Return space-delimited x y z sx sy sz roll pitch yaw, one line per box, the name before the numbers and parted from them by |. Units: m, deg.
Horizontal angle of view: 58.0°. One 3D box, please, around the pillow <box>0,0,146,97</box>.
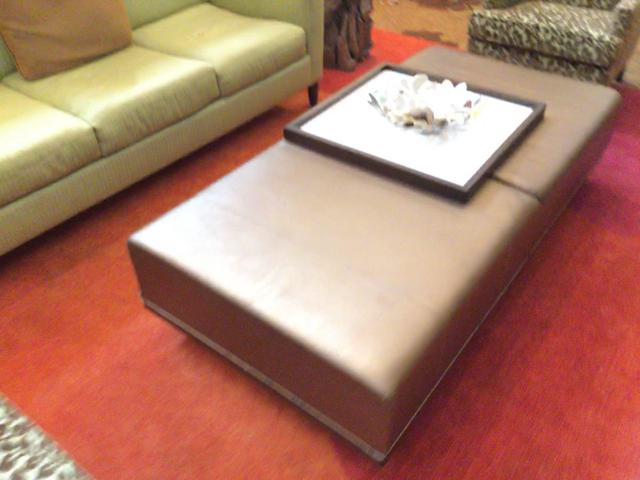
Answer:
pillow | -1.090 -0.960 2.290 0.290 0.520 0.640 26 47 29
